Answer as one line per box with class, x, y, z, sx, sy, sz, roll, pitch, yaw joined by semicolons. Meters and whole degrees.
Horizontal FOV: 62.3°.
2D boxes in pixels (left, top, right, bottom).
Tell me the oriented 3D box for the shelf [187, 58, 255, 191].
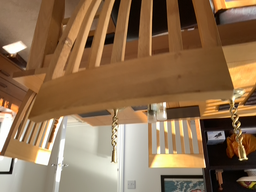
shelf;1.130;0.540;2.000;0.920;1.780;0.390;-6;157;14
